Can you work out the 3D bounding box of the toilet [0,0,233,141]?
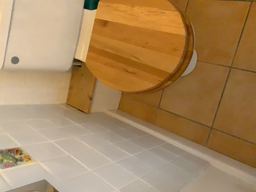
[{"bbox_3d":[-0.070,-0.230,0.900,0.700,0.780,0.460,21,101,34],"label":"toilet"}]
